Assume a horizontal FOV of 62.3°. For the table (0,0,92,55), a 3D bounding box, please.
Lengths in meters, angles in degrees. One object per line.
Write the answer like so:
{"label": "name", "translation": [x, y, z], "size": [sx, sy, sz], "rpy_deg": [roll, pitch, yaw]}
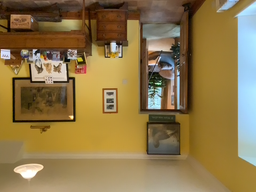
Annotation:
{"label": "table", "translation": [-1.500, -1.200, 3.670], "size": [1.640, 0.850, 0.650], "rpy_deg": [0, -179, 0]}

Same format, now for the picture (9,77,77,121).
{"label": "picture", "translation": [-1.590, 0.060, 3.990], "size": [1.240, 0.810, 0.090], "rpy_deg": [0, -179, -1]}
